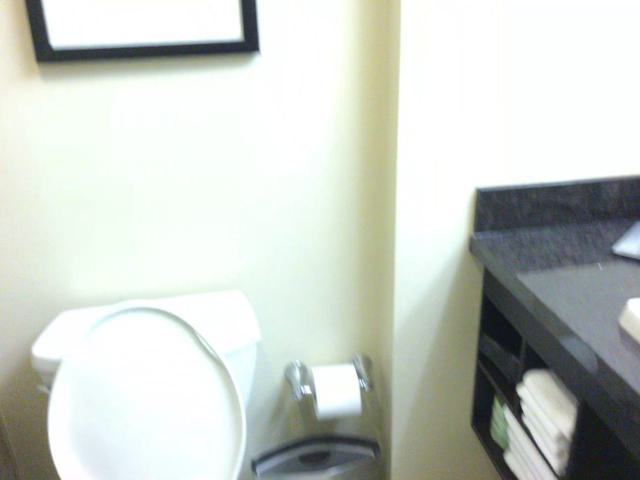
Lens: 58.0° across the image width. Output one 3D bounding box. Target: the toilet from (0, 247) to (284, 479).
[{"bbox_3d":[-0.290,0.580,1.080,0.440,0.860,0.760,-7,24,-8],"label":"toilet"}]
